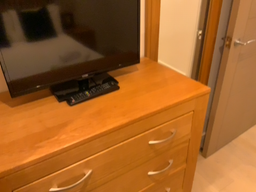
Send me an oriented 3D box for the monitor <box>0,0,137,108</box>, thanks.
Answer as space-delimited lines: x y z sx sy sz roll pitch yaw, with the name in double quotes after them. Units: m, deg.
-0.200 -0.200 0.820 0.540 0.360 0.050 -20 36 -28 "monitor"
